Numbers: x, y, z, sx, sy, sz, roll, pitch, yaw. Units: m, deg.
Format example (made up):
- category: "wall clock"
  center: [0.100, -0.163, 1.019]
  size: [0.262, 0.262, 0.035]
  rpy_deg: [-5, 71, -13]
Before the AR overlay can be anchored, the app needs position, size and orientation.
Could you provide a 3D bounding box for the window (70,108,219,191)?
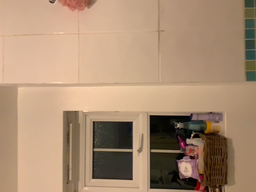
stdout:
- category: "window"
  center: [0.100, 0.370, 1.470]
  size: [0.050, 1.010, 0.570]
  rpy_deg: [1, -91, -86]
